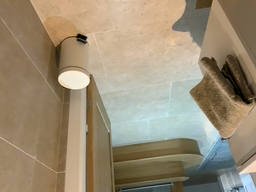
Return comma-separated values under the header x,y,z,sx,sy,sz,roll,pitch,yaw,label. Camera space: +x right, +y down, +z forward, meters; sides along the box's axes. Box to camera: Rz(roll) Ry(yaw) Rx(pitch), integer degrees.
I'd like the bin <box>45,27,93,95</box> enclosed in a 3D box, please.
x,y,z,sx,sy,sz,roll,pitch,yaw,label
-0.330,-0.200,1.240,0.160,0.270,0.250,-12,147,7,bin
